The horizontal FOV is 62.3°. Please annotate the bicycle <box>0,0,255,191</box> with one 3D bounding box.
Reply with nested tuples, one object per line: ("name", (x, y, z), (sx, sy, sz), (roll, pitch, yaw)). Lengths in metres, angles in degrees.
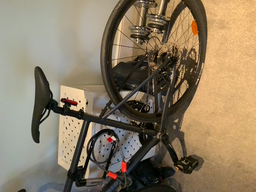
("bicycle", (-0.080, 0.260, 1.070), (0.570, 0.930, 1.760), (26, 110, 37))
